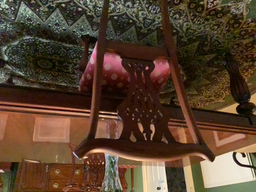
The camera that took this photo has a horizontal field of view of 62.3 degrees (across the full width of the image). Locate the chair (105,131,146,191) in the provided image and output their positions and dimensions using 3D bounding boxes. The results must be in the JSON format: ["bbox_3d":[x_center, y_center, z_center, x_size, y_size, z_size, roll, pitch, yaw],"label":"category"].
[{"bbox_3d":[-0.070,1.170,3.610,0.540,0.990,0.570,6,152,-14],"label":"chair"}]

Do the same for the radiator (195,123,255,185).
[{"bbox_3d":[1.600,1.050,3.670,0.110,0.820,1.150,7,151,-17],"label":"radiator"}]
